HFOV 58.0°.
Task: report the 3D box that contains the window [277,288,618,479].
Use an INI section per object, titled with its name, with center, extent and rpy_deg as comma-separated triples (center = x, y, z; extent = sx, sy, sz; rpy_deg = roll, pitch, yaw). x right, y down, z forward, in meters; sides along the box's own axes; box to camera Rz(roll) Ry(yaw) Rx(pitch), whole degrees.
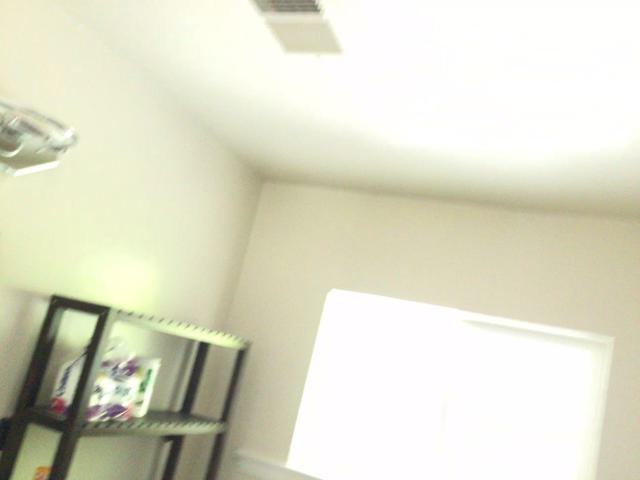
[window]
center = 0.390, 0.550, 1.830
extent = 0.920, 0.640, 0.230
rpy_deg = 6, -16, 21
